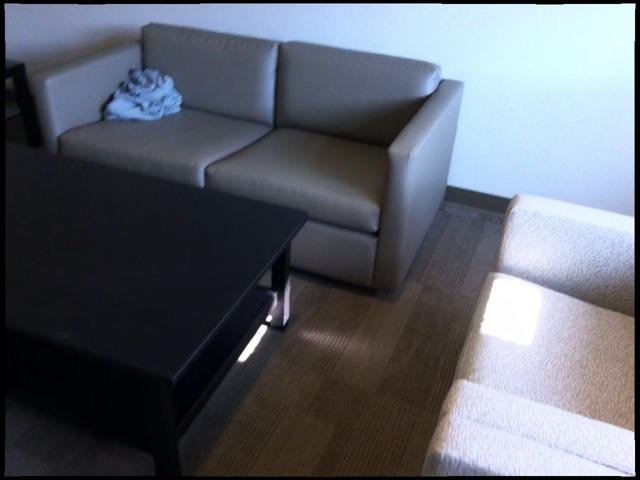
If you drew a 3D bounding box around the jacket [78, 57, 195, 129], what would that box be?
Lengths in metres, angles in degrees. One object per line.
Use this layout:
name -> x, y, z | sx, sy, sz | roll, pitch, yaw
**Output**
jacket -> -0.808, -0.661, 2.560 | 0.400, 0.160, 0.290 | -22, 42, -33
